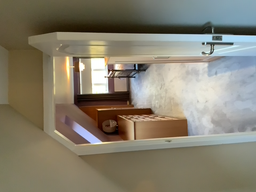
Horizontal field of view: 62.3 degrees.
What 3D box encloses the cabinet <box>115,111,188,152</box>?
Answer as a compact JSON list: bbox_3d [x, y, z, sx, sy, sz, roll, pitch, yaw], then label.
[{"bbox_3d":[0.350,0.660,4.680,2.200,1.000,0.520,177,92,-79],"label":"cabinet"}]
